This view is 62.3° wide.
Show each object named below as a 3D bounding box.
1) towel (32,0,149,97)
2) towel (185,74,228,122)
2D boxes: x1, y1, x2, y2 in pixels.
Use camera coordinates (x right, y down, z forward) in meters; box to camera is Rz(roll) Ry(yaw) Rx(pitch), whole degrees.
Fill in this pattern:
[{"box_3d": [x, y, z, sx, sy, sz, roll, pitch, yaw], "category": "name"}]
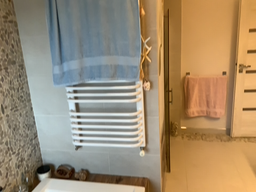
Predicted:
[{"box_3d": [-0.210, -0.490, 1.300, 0.630, 0.950, 0.260, -1, 16, 9], "category": "towel"}, {"box_3d": [1.210, 0.030, 3.360, 0.590, 0.720, 0.210, 1, 16, 13], "category": "towel"}]
